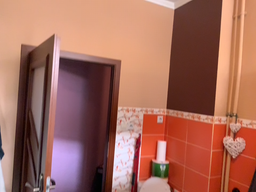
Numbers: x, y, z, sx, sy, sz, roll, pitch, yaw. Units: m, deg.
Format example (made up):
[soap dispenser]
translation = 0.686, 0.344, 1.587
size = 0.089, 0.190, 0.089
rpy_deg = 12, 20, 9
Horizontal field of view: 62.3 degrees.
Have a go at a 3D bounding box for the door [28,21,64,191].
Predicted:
[door]
translation = -0.670, 0.640, 1.590
size = 0.070, 2.170, 0.810
rpy_deg = 4, 0, -28
